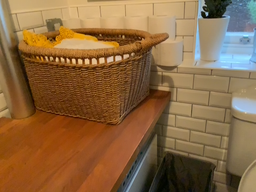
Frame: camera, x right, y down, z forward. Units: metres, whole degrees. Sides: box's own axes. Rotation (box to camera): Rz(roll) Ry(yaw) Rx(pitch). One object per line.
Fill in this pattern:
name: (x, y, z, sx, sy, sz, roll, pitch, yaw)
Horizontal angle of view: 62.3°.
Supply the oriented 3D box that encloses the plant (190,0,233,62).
plant: (0.400, -0.340, 1.010, 0.150, 0.300, 0.190, 9, 28, 24)
